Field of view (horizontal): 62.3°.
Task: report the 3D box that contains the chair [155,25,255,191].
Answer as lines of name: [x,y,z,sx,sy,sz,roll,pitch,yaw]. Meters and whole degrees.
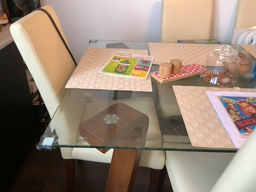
chair: [0.390,0.330,0.780,0.450,0.990,0.590,3,33,2]

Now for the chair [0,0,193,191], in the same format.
chair: [-0.120,0.090,1.110,0.570,1.010,0.510,1,32,-3]
